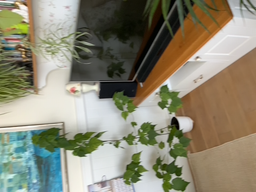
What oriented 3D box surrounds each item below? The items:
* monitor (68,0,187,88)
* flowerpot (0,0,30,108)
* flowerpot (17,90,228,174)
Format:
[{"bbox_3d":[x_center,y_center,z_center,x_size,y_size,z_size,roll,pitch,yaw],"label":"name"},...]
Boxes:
[{"bbox_3d":[-0.060,-0.400,1.590,1.090,0.680,0.040,121,136,-54],"label":"monitor"},{"bbox_3d":[-1.060,-0.240,1.550,0.930,0.560,0.360,131,132,-59],"label":"flowerpot"},{"bbox_3d":[-0.020,0.290,1.880,0.560,1.660,0.450,131,132,-59],"label":"flowerpot"}]
